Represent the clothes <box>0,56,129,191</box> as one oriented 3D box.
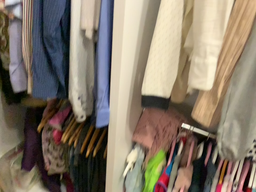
[{"bbox_3d":[-0.510,0.380,1.380,0.860,1.030,0.380,19,32,21],"label":"clothes"}]
